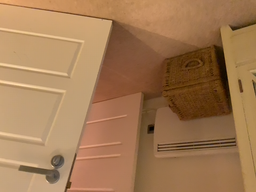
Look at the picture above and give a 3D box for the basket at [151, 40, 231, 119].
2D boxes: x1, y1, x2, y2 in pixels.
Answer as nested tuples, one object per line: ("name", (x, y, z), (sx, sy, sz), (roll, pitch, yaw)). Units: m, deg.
("basket", (0.440, -0.090, 1.490), (0.430, 0.320, 0.350), (-12, 141, 28))
